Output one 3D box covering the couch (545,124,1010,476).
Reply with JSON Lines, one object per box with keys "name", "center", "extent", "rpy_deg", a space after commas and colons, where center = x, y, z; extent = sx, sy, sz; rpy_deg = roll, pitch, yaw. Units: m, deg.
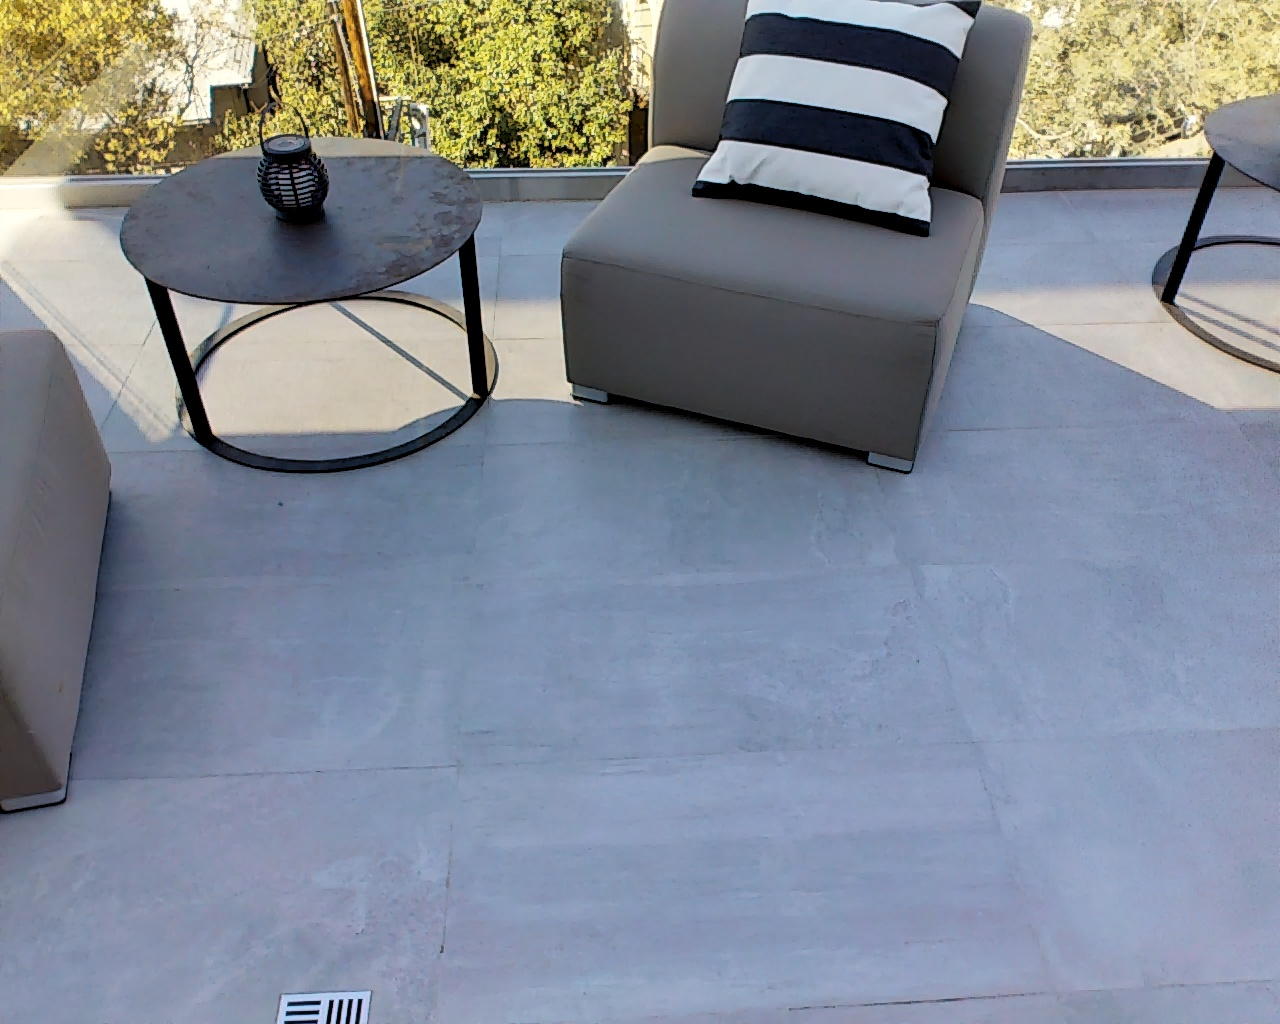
{"name": "couch", "center": [0.330, -0.540, 2.600], "extent": [0.940, 0.450, 0.580], "rpy_deg": [14, 44, 15]}
